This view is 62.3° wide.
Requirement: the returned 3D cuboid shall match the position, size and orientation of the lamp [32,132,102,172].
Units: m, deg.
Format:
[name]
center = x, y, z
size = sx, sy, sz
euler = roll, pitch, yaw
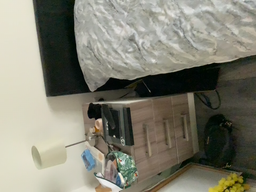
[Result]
[lamp]
center = -0.370, 0.330, 1.310
size = 0.180, 0.360, 0.120
euler = -4, 94, 50
